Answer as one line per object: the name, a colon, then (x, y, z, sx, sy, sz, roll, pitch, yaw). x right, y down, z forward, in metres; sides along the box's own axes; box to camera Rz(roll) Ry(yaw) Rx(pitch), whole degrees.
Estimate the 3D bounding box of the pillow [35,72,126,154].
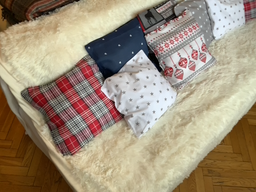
pillow: (-0.230, 0.080, 1.070, 0.150, 0.290, 0.360, 45, 110, 20)
